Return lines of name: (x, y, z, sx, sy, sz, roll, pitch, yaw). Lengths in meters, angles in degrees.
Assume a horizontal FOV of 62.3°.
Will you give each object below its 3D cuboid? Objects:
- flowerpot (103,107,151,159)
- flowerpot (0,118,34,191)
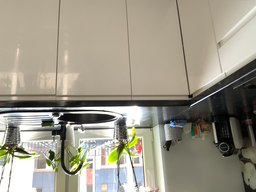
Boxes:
flowerpot: (-0.030, 0.330, 1.830, 0.340, 0.400, 0.360, 0, 163, -10)
flowerpot: (-0.880, 0.490, 1.510, 0.280, 0.620, 0.280, 0, 163, -8)
